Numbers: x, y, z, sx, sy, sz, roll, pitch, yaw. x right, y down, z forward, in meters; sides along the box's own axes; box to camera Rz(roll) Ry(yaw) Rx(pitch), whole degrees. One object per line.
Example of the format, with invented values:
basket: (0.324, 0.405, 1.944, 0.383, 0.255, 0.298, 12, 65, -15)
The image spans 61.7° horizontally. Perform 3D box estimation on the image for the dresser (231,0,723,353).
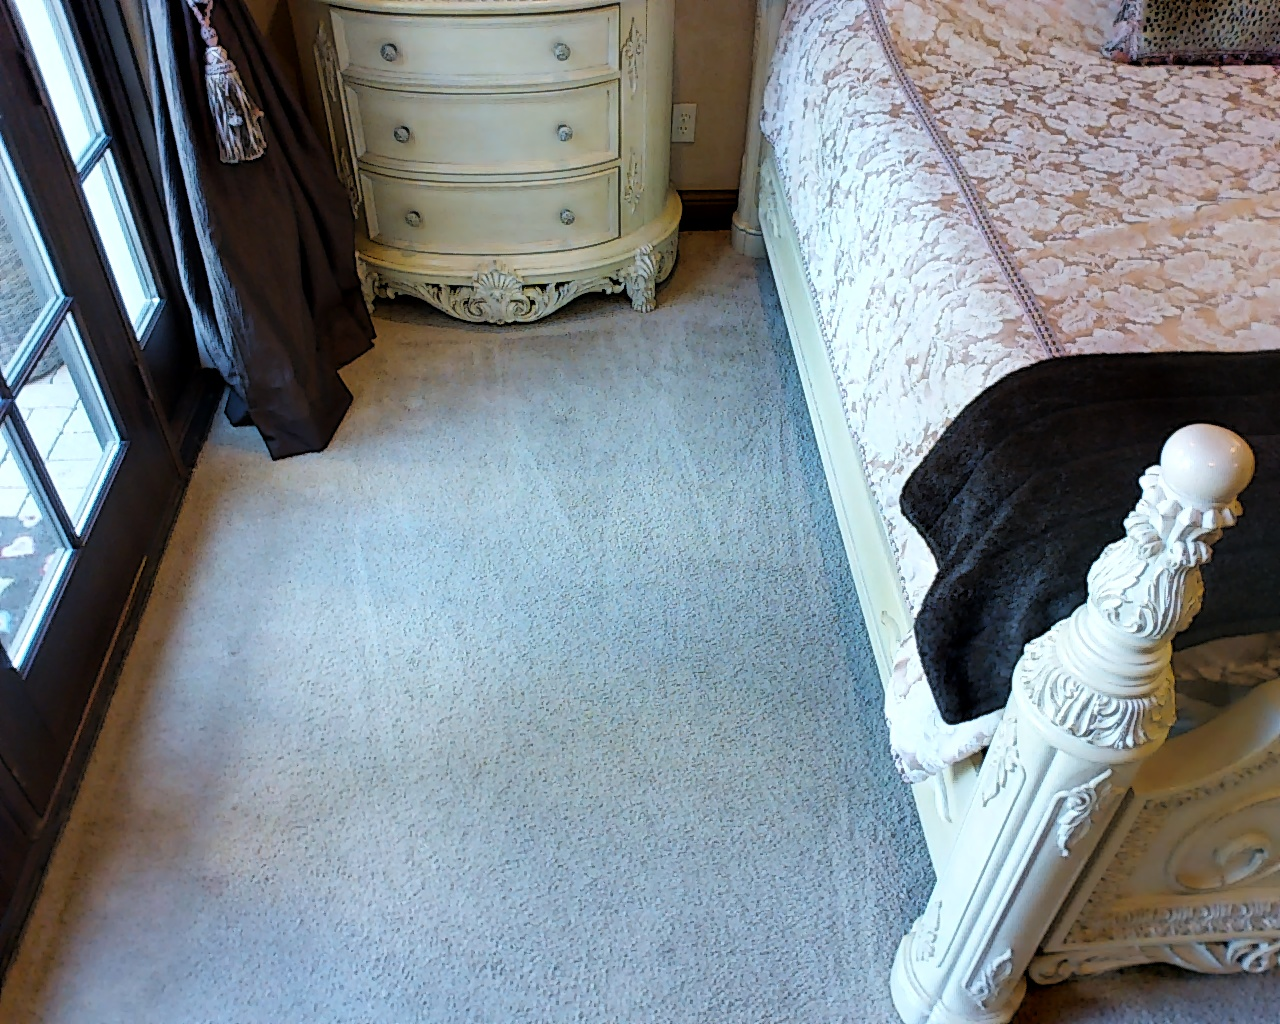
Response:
dresser: (-0.360, -0.940, 2.740, 1.040, 0.900, 0.480, -3, 42, -4)

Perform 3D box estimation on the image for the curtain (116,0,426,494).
curtain: (-0.730, -1.280, 1.960, 0.320, 2.470, 0.930, -4, 42, -5)
